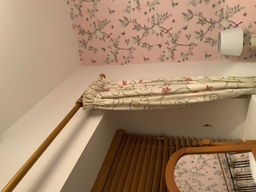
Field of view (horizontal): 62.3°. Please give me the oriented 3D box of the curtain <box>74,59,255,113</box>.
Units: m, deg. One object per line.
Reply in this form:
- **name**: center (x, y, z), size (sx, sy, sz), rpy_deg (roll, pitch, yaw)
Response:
- **curtain**: center (0.690, -0.090, 1.440), size (0.590, 2.030, 0.100), rpy_deg (-67, -27, -58)
